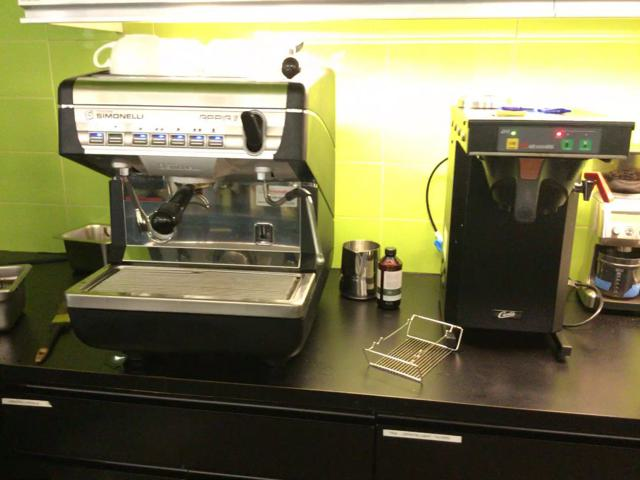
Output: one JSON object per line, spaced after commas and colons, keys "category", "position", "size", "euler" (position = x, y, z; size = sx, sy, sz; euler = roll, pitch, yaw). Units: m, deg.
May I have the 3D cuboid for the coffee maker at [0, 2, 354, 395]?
{"category": "coffee maker", "position": [-0.200, -0.100, 1.090], "size": [0.440, 0.530, 0.580], "euler": [0, 13, 11]}

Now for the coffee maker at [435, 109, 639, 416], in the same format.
{"category": "coffee maker", "position": [0.370, 0.000, 1.060], "size": [0.310, 0.450, 0.430], "euler": [0, 13, 11]}
